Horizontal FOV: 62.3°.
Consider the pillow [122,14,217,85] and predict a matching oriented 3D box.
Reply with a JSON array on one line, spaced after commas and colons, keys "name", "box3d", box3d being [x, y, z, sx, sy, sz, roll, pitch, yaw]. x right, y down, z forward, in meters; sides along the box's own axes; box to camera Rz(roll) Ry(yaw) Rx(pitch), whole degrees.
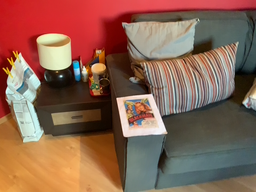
[{"name": "pillow", "box3d": [0.230, -0.290, 1.400, 0.500, 0.400, 0.230, -2, 58, -8]}]

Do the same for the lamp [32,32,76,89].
[{"name": "lamp", "box3d": [-0.520, -0.260, 1.550, 0.230, 0.350, 0.200, -4, 37, -8]}]

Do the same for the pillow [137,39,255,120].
[{"name": "pillow", "box3d": [0.390, -0.100, 1.270, 0.600, 0.330, 0.220, -12, 58, -14]}]

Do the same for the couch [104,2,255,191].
[{"name": "couch", "box3d": [0.910, -0.070, 1.510, 2.050, 0.910, 0.960, -4, 37, -8]}]
